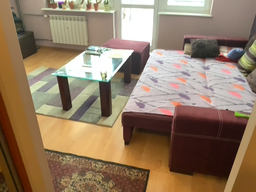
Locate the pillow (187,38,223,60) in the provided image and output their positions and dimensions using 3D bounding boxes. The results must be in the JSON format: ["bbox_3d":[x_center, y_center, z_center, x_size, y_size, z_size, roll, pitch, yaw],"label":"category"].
[{"bbox_3d":[1.160,-0.730,3.250,0.470,0.180,0.440,7,30,11],"label":"pillow"}]

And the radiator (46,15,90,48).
[{"bbox_3d":[-1.220,-1.330,4.360,0.850,0.590,0.140,8,30,13],"label":"radiator"}]
